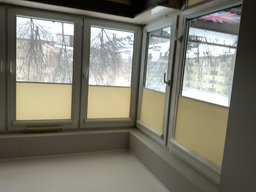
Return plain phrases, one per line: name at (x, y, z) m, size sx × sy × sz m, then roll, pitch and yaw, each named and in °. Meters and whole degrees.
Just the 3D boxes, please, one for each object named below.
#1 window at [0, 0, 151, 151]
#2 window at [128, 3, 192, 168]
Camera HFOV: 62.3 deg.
window at (-1.030, -0.280, 2.540) m, size 2.660 × 1.810 × 0.200 m, roll 1°, pitch -172°, yaw -21°
window at (0.330, -0.120, 2.680) m, size 0.310 × 1.740 × 0.860 m, roll 1°, pitch -173°, yaw -18°
